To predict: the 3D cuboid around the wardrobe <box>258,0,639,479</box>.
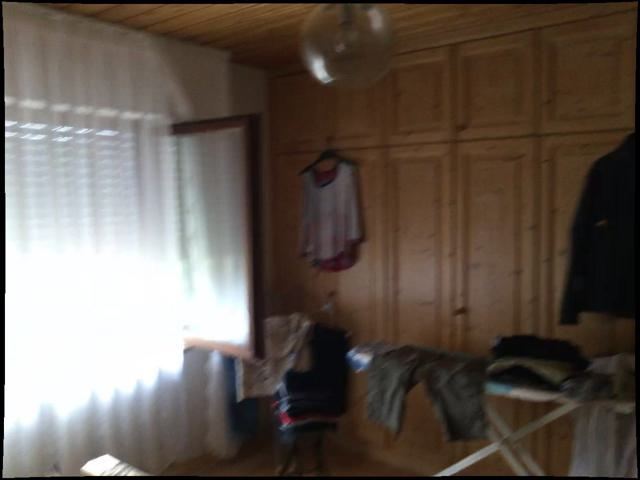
[{"bbox_3d":[0.719,0.070,2.970,2.709,2.472,0.220,5,9,42],"label":"wardrobe"}]
